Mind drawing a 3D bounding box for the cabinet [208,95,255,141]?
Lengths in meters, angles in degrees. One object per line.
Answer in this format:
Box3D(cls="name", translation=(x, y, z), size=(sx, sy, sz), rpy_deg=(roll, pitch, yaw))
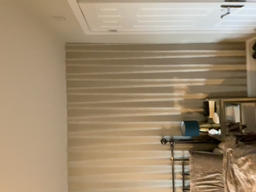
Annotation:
Box3D(cls="cabinet", translation=(1.320, 0.240, 2.470), size=(0.370, 0.620, 0.480), rpy_deg=(147, 122, -87))
